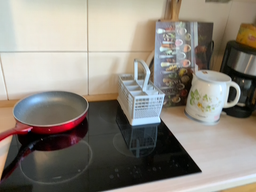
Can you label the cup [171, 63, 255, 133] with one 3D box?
[{"bbox_3d":[0.370,0.000,0.980,0.230,0.240,0.220,-2,28,-14],"label":"cup"}]
